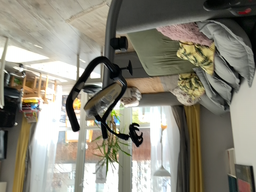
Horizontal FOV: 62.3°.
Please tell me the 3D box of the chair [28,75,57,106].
[{"bbox_3d":[-1.620,-0.100,4.050,0.350,0.500,0.300,-4,164,15],"label":"chair"}]
